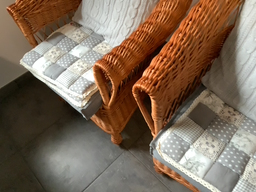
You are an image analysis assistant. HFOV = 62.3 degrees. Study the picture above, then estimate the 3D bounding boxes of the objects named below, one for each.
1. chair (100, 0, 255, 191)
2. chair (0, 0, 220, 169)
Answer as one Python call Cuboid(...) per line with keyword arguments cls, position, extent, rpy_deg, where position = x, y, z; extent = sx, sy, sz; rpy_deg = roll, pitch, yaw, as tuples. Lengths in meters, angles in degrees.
Cuboid(cls="chair", position=(0.490, 0.030, 0.780), extent=(0.680, 0.850, 0.780), rpy_deg=(31, 63, 25))
Cuboid(cls="chair", position=(-0.070, -0.290, 1.080), extent=(0.680, 0.830, 0.800), rpy_deg=(32, 63, 26))
